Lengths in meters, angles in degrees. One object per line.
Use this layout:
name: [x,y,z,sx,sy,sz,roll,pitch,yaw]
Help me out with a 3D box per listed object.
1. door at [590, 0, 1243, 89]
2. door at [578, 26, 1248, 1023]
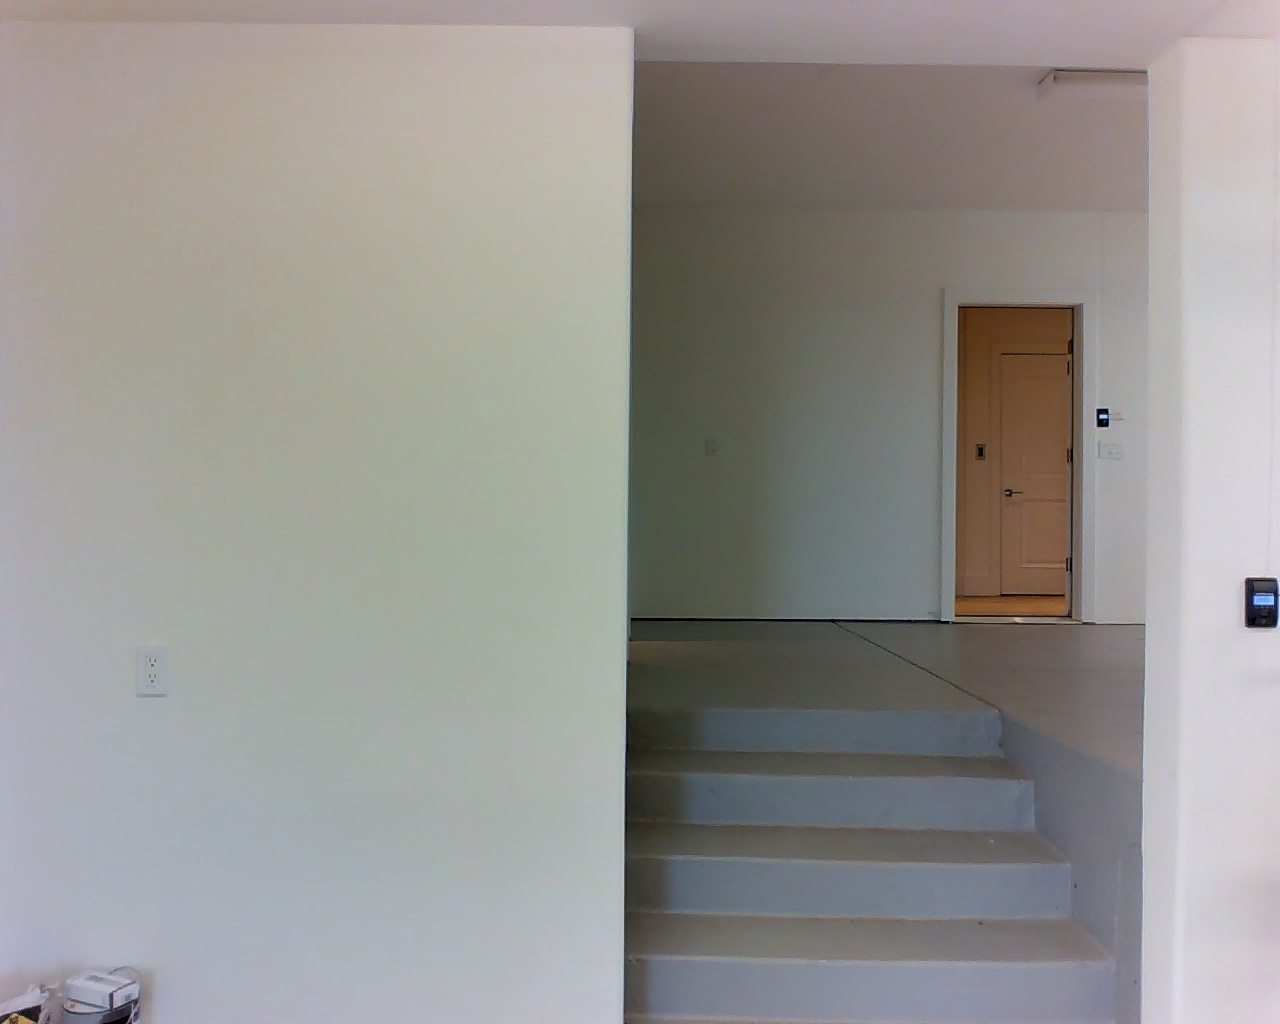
door: [0.660,-1.170,2.700,1.560,0.090,0.270,0,0,0]
door: [0.660,0.170,2.640,1.600,2.680,0.100,0,0,0]
